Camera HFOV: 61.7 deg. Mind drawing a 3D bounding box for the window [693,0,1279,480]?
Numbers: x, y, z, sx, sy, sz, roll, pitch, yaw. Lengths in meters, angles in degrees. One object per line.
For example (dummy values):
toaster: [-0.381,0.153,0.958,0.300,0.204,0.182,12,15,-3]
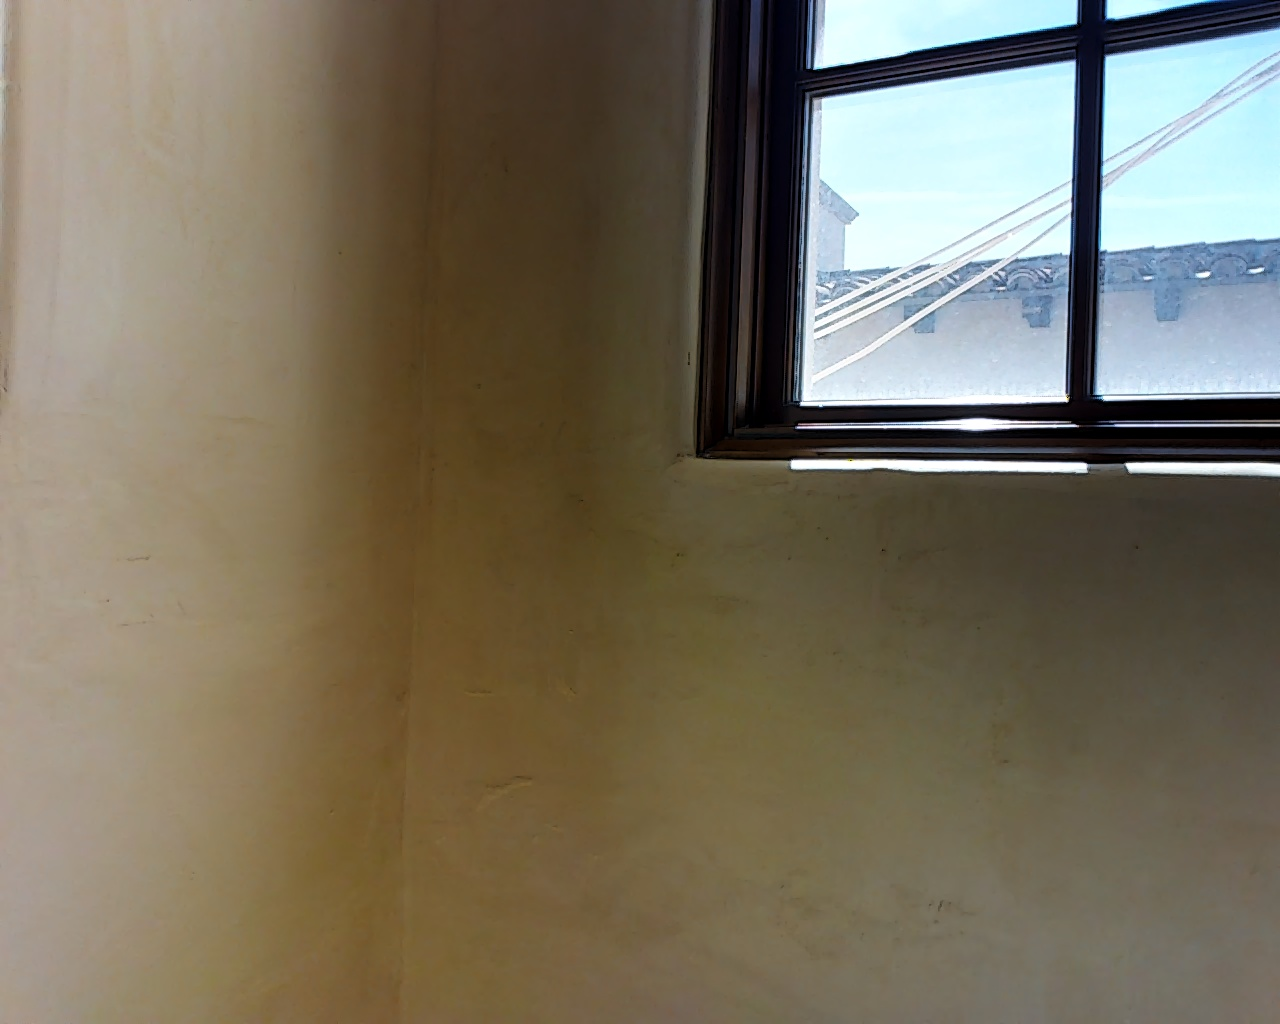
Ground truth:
window: [0.370,-0.400,0.850,0.630,0.740,0.150,2,0,29]
